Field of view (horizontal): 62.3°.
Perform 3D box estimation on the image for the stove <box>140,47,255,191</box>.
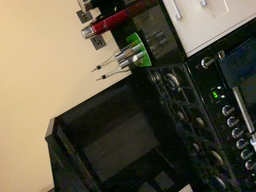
[{"bbox_3d":[0.510,0.240,1.500,1.110,0.180,0.590,62,167,-13],"label":"stove"}]
